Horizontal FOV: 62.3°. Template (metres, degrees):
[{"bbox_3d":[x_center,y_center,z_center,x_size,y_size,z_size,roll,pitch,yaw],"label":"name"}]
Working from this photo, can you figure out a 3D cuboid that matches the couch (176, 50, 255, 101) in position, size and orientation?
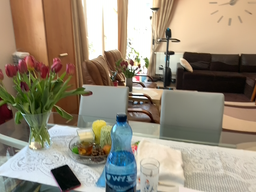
[{"bbox_3d":[2.380,-0.520,4.990,2.310,0.940,0.930,6,18,15],"label":"couch"}]

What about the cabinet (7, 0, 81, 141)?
[{"bbox_3d":[-0.980,-0.450,2.660,0.410,1.860,0.680,6,18,14],"label":"cabinet"}]
